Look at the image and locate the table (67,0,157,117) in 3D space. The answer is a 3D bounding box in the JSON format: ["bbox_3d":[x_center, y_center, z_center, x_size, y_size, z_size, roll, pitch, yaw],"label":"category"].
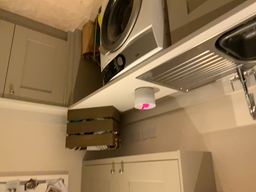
[{"bbox_3d":[-0.170,-0.320,2.070,0.590,0.890,0.590,12,157,-35],"label":"table"}]
